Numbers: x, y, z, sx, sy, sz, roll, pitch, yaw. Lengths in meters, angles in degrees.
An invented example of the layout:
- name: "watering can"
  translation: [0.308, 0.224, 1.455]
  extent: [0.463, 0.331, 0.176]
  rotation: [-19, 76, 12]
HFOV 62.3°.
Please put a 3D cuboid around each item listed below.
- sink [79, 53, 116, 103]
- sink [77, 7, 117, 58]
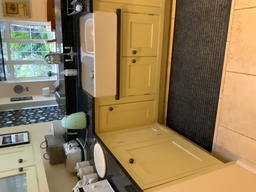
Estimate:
- name: "sink"
  translation: [-0.330, -0.210, 2.200]
  extent: [0.520, 0.220, 0.430]
  rotation: [26, 118, 59]
- name: "sink"
  translation: [-0.320, -0.610, 2.090]
  extent: [0.530, 0.220, 0.420]
  rotation: [26, 118, 59]
